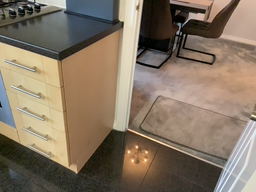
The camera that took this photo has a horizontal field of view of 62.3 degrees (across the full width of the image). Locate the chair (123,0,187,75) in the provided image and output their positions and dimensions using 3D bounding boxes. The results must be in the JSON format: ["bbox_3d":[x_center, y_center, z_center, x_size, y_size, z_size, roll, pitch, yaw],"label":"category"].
[{"bbox_3d":[0.360,-0.910,2.840,0.530,0.950,0.650,21,37,20],"label":"chair"}]

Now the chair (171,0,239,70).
[{"bbox_3d":[1.110,-0.990,3.090,0.620,0.950,0.520,21,37,20],"label":"chair"}]
